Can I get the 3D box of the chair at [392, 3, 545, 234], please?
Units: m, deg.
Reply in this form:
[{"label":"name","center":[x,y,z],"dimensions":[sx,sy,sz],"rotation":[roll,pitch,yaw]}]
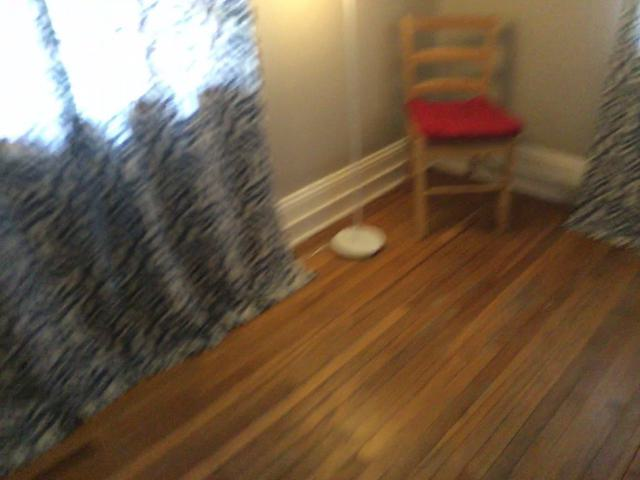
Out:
[{"label":"chair","center":[0.610,-0.560,2.620],"dimensions":[0.460,0.840,0.620],"rotation":[-4,31,-1]}]
